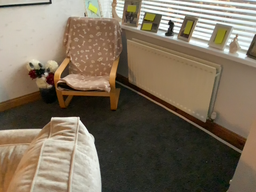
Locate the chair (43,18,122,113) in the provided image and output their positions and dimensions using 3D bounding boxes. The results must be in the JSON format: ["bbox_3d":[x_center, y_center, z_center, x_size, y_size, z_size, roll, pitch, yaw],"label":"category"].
[{"bbox_3d":[-0.460,-0.410,2.640,0.700,0.900,0.850,2,30,2],"label":"chair"}]
